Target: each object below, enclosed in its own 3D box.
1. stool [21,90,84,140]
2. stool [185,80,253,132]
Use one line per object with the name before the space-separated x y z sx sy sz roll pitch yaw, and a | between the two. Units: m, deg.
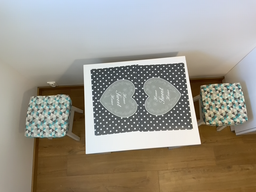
stool | -0.620 0.190 1.860 0.330 0.490 0.340 2 74 1
stool | 0.750 0.110 1.860 0.340 0.510 0.330 -2 74 0
